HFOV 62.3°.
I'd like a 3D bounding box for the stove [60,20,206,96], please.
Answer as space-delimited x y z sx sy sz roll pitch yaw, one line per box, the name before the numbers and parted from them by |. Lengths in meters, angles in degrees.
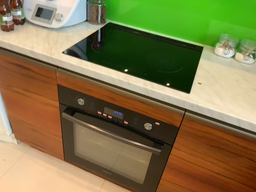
stove | 0.070 -0.240 1.080 0.600 0.010 0.520 20 39 13
